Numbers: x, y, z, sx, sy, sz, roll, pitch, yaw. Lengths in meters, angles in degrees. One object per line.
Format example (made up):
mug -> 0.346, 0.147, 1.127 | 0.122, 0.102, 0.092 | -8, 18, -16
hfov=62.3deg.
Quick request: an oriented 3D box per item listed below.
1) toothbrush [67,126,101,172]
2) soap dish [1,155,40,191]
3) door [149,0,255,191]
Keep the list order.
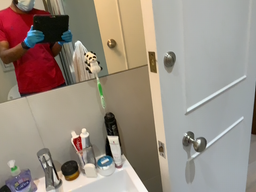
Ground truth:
toothbrush -> -0.180, 0.220, 0.880 | 0.100, 0.160, 0.050 | -15, 24, -14
soap dish -> -0.400, 0.300, 0.800 | 0.100, 0.110, 0.060 | -17, 24, -18
door -> 0.360, 0.010, 0.840 | 0.640, 1.740, 0.020 | -24, 28, -32
